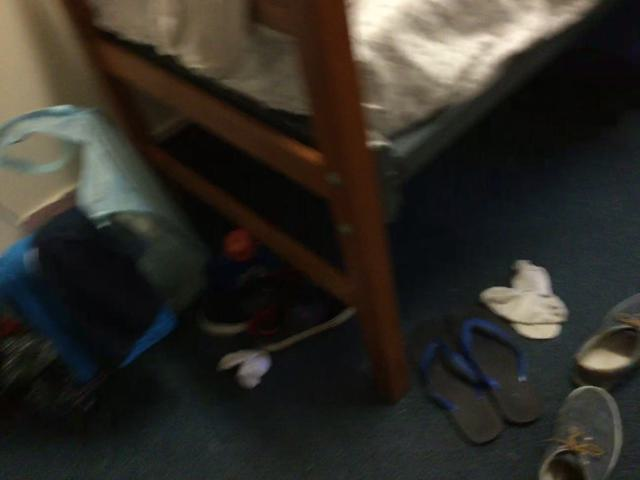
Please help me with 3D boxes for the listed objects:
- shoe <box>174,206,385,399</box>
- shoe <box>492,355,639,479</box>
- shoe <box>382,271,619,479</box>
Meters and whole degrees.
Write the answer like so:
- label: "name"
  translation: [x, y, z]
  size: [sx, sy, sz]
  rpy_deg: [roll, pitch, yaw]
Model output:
- label: "shoe"
  translation: [-0.100, 0.130, 1.410]
  size: [0.380, 0.090, 0.340]
  rpy_deg: [-40, 50, -20]
- label: "shoe"
  translation: [0.420, 0.390, 1.010]
  size: [0.140, 0.100, 0.350]
  rpy_deg: [26, 60, 34]
- label: "shoe"
  translation: [0.360, 0.260, 1.190]
  size: [0.310, 0.060, 0.340]
  rpy_deg: [-40, 50, -20]
